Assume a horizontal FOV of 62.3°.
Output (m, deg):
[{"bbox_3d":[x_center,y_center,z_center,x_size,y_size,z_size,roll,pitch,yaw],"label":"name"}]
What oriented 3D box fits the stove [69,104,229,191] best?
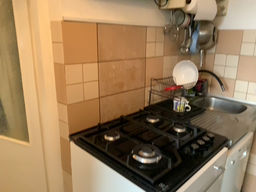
[{"bbox_3d":[0.110,0.200,1.090,0.570,0.060,0.590,17,23,42],"label":"stove"}]
